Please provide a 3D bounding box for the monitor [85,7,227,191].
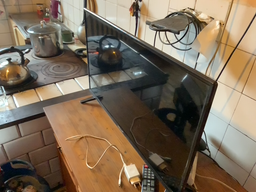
[{"bbox_3d":[-0.010,-0.020,0.820,0.060,0.460,0.710,-13,38,-28],"label":"monitor"}]
